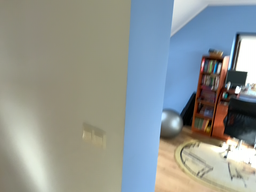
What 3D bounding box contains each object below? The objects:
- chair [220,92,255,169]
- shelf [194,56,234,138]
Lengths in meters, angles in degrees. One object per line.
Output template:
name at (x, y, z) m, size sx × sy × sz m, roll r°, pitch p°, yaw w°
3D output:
chair at (2.030, 0.540, 3.570) m, size 0.680 × 1.040 × 0.480 m, roll -12°, pitch 22°, yaw -42°
shelf at (1.750, 0.010, 4.350) m, size 0.430 × 1.580 × 0.420 m, roll 15°, pitch 20°, yaw 36°
